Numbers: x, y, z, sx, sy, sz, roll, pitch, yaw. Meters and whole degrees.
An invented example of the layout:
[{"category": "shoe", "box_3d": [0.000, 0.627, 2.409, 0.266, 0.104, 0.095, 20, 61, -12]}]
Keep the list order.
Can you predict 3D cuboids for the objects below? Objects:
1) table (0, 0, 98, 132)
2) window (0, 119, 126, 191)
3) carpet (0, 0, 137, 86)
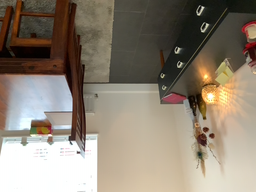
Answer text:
[{"category": "table", "box_3d": [-0.790, -0.190, 2.050, 0.940, 0.750, 1.340, -1, 158, -7]}, {"category": "window", "box_3d": [-0.910, 1.110, 2.760, 1.730, 1.560, 0.200, -1, 158, -7]}, {"category": "carpet", "box_3d": [-0.820, -0.640, 1.980, 1.720, 0.020, 2.500, -1, 158, -7]}]
